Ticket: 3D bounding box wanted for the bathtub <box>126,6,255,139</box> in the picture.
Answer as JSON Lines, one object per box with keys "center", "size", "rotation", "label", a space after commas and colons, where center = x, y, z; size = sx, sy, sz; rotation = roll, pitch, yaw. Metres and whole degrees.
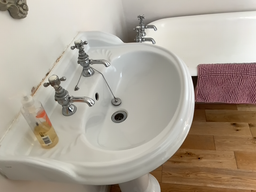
{"center": [0.910, -0.190, 1.500], "size": [1.670, 0.600, 0.770], "rotation": [0, 43, 13], "label": "bathtub"}
